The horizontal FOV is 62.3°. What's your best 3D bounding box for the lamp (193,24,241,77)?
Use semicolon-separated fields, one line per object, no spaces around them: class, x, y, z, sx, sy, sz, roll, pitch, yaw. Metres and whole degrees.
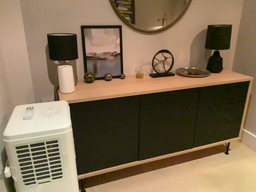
lamp;0.830;-0.440;2.010;0.270;0.450;0.240;-7;22;-20
